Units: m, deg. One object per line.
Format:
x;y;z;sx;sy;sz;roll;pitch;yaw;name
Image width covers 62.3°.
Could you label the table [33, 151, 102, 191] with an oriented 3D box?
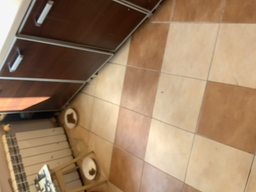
-0.520;0.720;1.860;0.250;0.450;0.300;-40;65;34;table
